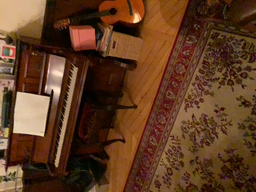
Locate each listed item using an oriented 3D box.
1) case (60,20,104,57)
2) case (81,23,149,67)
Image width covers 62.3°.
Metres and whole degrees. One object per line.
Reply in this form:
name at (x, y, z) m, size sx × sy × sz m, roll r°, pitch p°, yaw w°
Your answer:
case at (-0.510, -0.620, 2.290) m, size 0.400 × 0.290 × 0.280 m, roll 35°, pitch 116°, yaw 49°
case at (-0.170, -0.600, 2.480) m, size 0.600 × 0.500 × 0.320 m, roll 35°, pitch 116°, yaw 49°
